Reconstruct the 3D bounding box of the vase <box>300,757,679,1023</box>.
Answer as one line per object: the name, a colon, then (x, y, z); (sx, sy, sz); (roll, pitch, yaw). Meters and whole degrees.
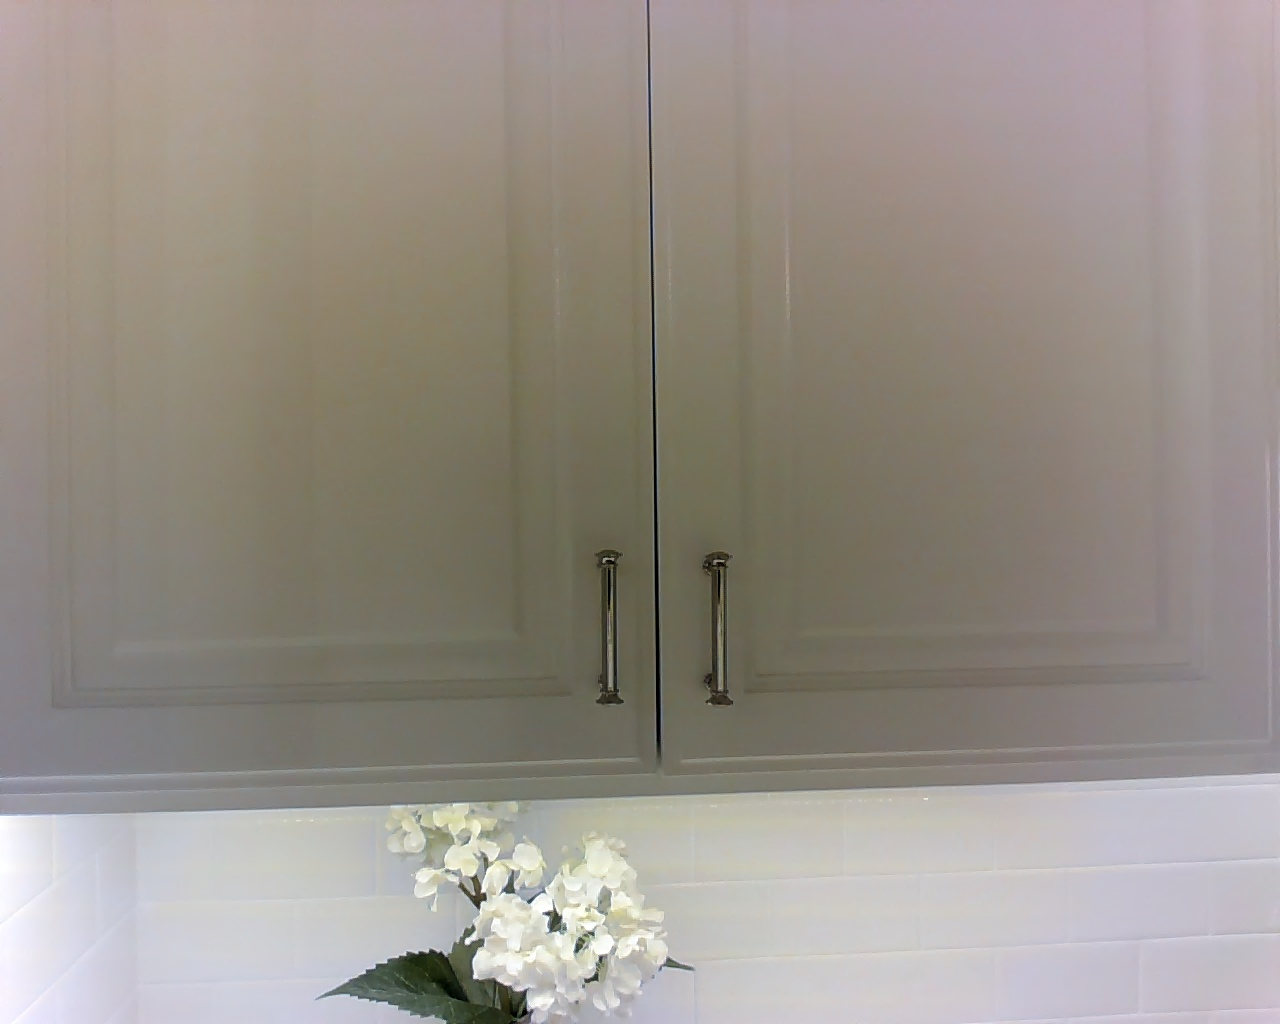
vase: (-0.120, 0.460, 0.920); (0.280, 0.440, 0.240); (0, 0, -5)
